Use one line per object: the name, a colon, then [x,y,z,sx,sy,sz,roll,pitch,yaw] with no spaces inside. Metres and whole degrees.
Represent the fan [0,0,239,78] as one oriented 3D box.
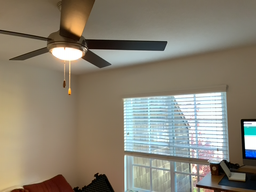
fan: [-0.350,-0.400,1.490,1.490,0.300,1.330,1,175,-11]
